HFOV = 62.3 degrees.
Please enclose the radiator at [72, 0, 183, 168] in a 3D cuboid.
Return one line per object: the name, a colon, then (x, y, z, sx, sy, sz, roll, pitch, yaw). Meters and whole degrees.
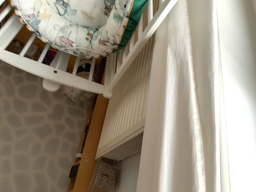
radiator: (-0.010, -0.130, 1.070, 0.190, 0.830, 0.670, 20, 148, -15)
